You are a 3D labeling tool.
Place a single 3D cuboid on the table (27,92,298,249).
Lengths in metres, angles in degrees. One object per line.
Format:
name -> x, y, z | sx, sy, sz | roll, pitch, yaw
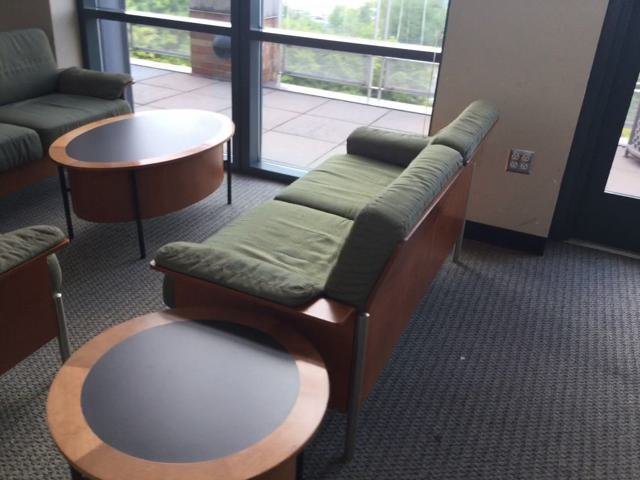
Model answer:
table -> -0.700, -0.410, 2.850 | 0.710, 0.370, 1.080 | 16, 28, 25
